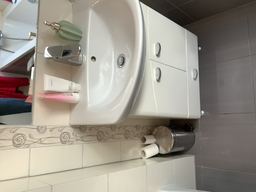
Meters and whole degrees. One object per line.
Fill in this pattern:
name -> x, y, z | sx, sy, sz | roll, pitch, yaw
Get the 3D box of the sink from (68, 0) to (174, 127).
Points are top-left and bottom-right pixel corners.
sink -> -0.050, -0.170, 0.940 | 0.440, 0.200, 0.600 | -7, 80, 44

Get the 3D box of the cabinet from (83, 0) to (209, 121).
cabinet -> 0.150, -0.130, 1.240 | 0.310, 0.750, 0.540 | -7, 80, 44
